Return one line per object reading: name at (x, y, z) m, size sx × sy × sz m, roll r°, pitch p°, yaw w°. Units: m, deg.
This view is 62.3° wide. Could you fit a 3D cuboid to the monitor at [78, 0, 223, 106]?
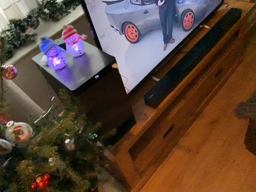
monitor at (0.240, -0.490, 1.060) m, size 0.020 × 0.610 × 1.040 m, roll 29°, pitch 62°, yaw 35°
